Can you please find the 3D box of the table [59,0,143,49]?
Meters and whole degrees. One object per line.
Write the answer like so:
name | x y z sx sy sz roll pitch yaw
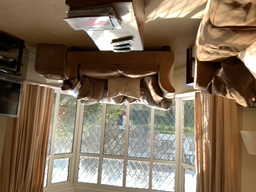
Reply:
table | -0.150 -0.750 1.770 0.460 0.430 0.820 2 172 9
